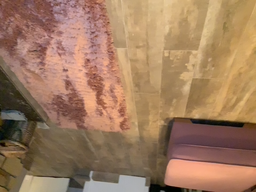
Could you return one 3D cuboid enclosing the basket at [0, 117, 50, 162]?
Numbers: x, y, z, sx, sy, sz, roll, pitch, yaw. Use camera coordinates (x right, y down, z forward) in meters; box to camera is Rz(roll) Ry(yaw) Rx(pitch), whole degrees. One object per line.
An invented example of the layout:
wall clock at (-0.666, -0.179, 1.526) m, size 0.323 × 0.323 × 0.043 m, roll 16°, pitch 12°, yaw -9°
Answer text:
basket at (-1.130, 0.480, 2.360) m, size 0.300 × 0.380 × 0.300 m, roll 3°, pitch 146°, yaw 8°
